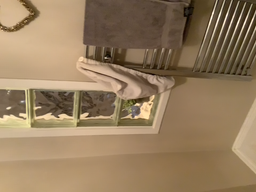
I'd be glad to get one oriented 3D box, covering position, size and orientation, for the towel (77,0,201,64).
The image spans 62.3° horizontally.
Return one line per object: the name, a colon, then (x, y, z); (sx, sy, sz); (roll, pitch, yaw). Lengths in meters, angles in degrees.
towel: (0.040, -0.330, 0.950); (0.120, 0.500, 0.310); (-120, 36, -59)
